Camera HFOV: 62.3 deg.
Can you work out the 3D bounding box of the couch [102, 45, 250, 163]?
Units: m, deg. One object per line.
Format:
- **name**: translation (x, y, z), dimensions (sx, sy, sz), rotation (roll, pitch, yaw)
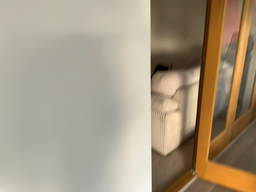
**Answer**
- **couch**: translation (0.680, -0.090, 2.870), dimensions (1.680, 0.850, 1.050), rotation (-21, 29, -37)
